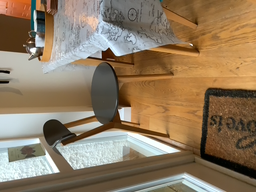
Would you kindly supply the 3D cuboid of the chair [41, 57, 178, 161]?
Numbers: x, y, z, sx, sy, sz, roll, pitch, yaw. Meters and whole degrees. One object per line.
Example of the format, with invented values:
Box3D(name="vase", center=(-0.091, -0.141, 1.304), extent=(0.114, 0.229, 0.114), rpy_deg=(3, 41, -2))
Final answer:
Box3D(name="chair", center=(-0.150, 0.040, 1.520), extent=(0.520, 0.790, 0.540), rpy_deg=(19, 106, 57))
